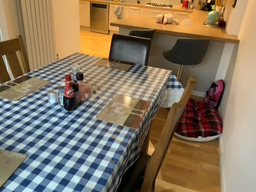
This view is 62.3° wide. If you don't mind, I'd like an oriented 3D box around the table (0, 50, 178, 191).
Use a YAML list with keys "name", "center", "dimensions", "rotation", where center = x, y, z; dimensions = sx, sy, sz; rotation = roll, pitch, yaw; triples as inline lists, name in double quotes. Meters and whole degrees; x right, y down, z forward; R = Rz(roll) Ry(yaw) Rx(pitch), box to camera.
- name: "table"
  center: [-0.350, 0.350, 1.370]
  dimensions: [0.940, 0.810, 1.520]
  rotation: [14, 29, 17]

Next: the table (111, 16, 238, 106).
- name: "table"
  center: [0.650, -0.610, 3.290]
  dimensions: [1.600, 0.930, 0.820]
  rotation: [13, 29, 14]

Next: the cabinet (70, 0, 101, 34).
- name: "cabinet"
  center: [-1.300, -2.510, 6.600]
  dimensions: [0.670, 0.910, 0.650]
  rotation: [13, 29, 14]
